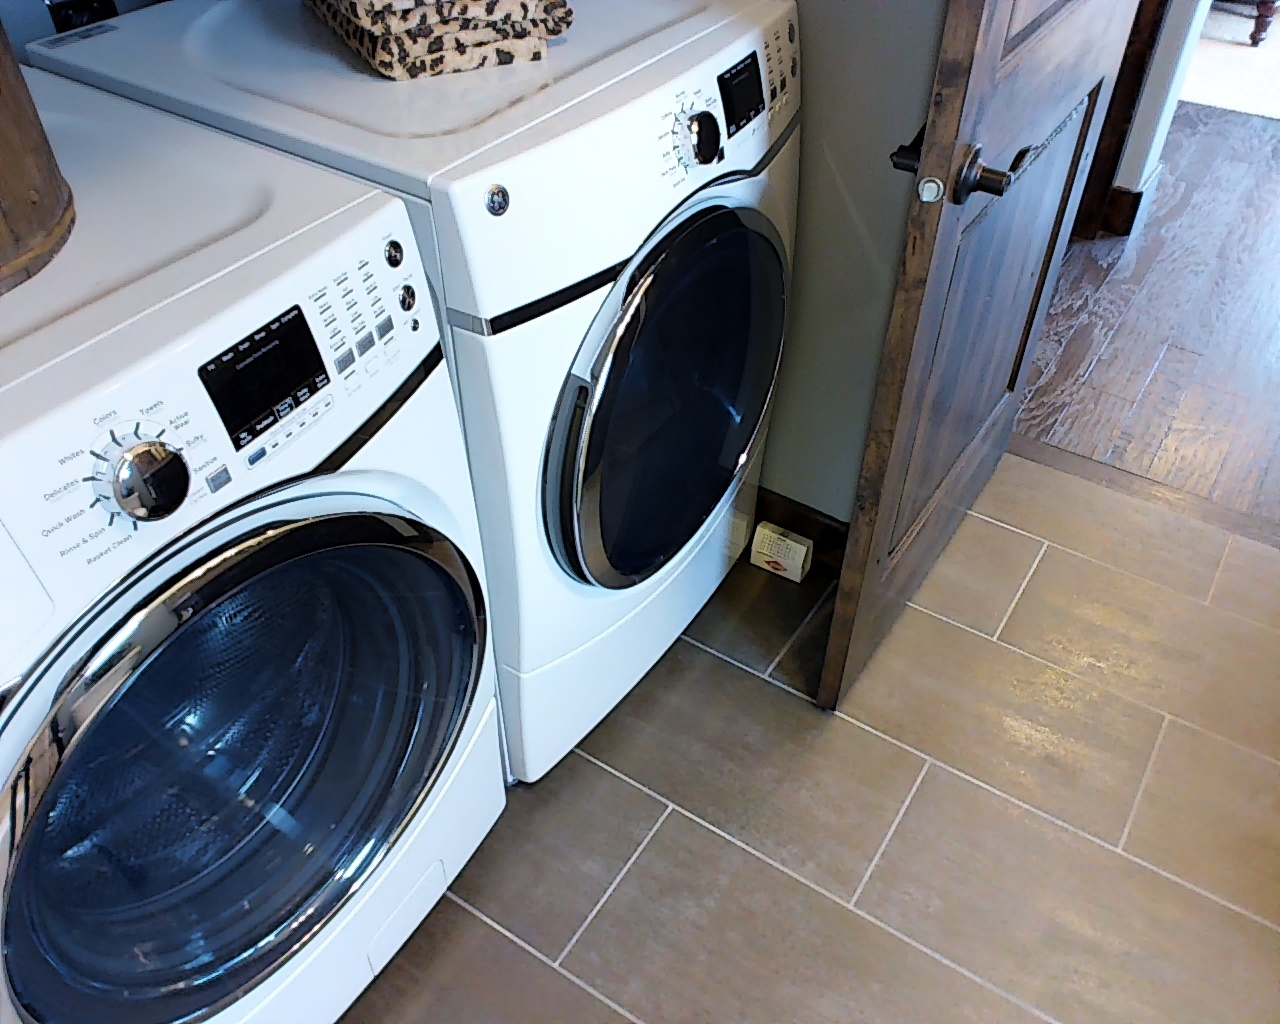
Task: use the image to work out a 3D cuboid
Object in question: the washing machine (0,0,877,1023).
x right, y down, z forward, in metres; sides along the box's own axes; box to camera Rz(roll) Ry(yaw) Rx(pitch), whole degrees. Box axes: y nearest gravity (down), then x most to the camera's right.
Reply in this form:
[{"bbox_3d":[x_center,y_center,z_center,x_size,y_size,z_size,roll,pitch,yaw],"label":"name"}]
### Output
[{"bbox_3d":[-0.440,-0.060,1.380,0.830,0.970,1.460,23,47,23],"label":"washing machine"}]
